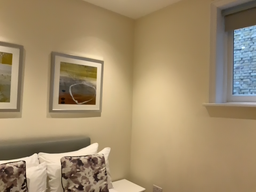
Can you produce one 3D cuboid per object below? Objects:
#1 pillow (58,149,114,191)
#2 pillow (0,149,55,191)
[{"bbox_3d":[-0.370,0.710,1.870,0.450,0.400,0.120,-5,25,-29],"label":"pillow"},{"bbox_3d":[-1.010,0.680,1.670,0.640,0.350,0.540,4,-3,-44],"label":"pillow"}]
